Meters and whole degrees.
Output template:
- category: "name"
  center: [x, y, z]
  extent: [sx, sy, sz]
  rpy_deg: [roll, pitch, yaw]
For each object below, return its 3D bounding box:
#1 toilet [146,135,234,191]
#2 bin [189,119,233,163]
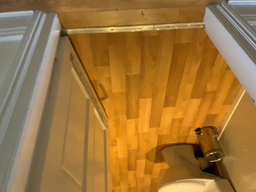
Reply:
- category: "toilet"
  center: [0.550, 0.830, 2.000]
  extent: [0.630, 0.770, 0.390]
  rpy_deg: [-5, 138, -4]
- category: "bin"
  center: [0.730, 0.400, 1.900]
  extent: [0.220, 0.290, 0.230]
  rpy_deg: [-2, 137, -7]
